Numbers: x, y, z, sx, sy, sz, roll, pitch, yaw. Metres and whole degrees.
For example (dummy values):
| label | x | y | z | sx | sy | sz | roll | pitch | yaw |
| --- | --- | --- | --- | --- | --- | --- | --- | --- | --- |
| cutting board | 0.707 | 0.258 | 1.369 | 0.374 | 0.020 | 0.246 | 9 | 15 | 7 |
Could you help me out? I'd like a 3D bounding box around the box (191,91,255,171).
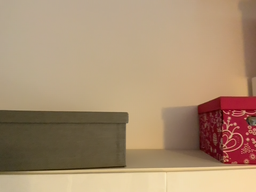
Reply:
| label | x | y | z | sx | sy | sz | roll | pitch | yaw |
| --- | --- | --- | --- | --- | --- | --- | --- | --- | --- |
| box | 0.450 | 0.130 | 0.850 | 0.250 | 0.240 | 0.410 | 1 | -7 | -3 |
